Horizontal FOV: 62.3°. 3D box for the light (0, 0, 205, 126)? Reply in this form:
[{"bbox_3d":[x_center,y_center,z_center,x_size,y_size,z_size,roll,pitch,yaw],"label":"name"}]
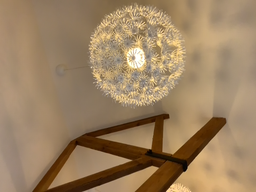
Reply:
[{"bbox_3d":[-0.330,-0.410,2.430,2.030,0.940,0.910,-10,-171,-7],"label":"light"}]
